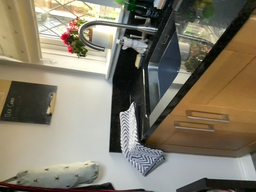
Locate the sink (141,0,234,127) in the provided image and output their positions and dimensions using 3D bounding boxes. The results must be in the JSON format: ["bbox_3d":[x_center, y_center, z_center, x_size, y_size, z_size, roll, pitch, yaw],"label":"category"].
[{"bbox_3d":[0.230,-0.130,1.030,0.430,0.210,0.410,114,159,-56],"label":"sink"}]
